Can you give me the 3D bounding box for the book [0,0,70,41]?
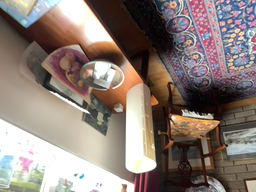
[{"bbox_3d":[-0.480,-0.450,0.940,0.340,0.120,0.290,-20,140,31],"label":"book"}]
